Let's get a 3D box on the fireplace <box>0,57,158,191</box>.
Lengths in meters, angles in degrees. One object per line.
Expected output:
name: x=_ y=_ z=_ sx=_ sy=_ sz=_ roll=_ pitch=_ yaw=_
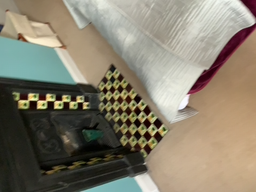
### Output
fireplace: x=-0.620 y=0.250 z=1.600 sx=1.210 sy=1.330 sz=0.380 roll=52 pitch=119 yaw=32
